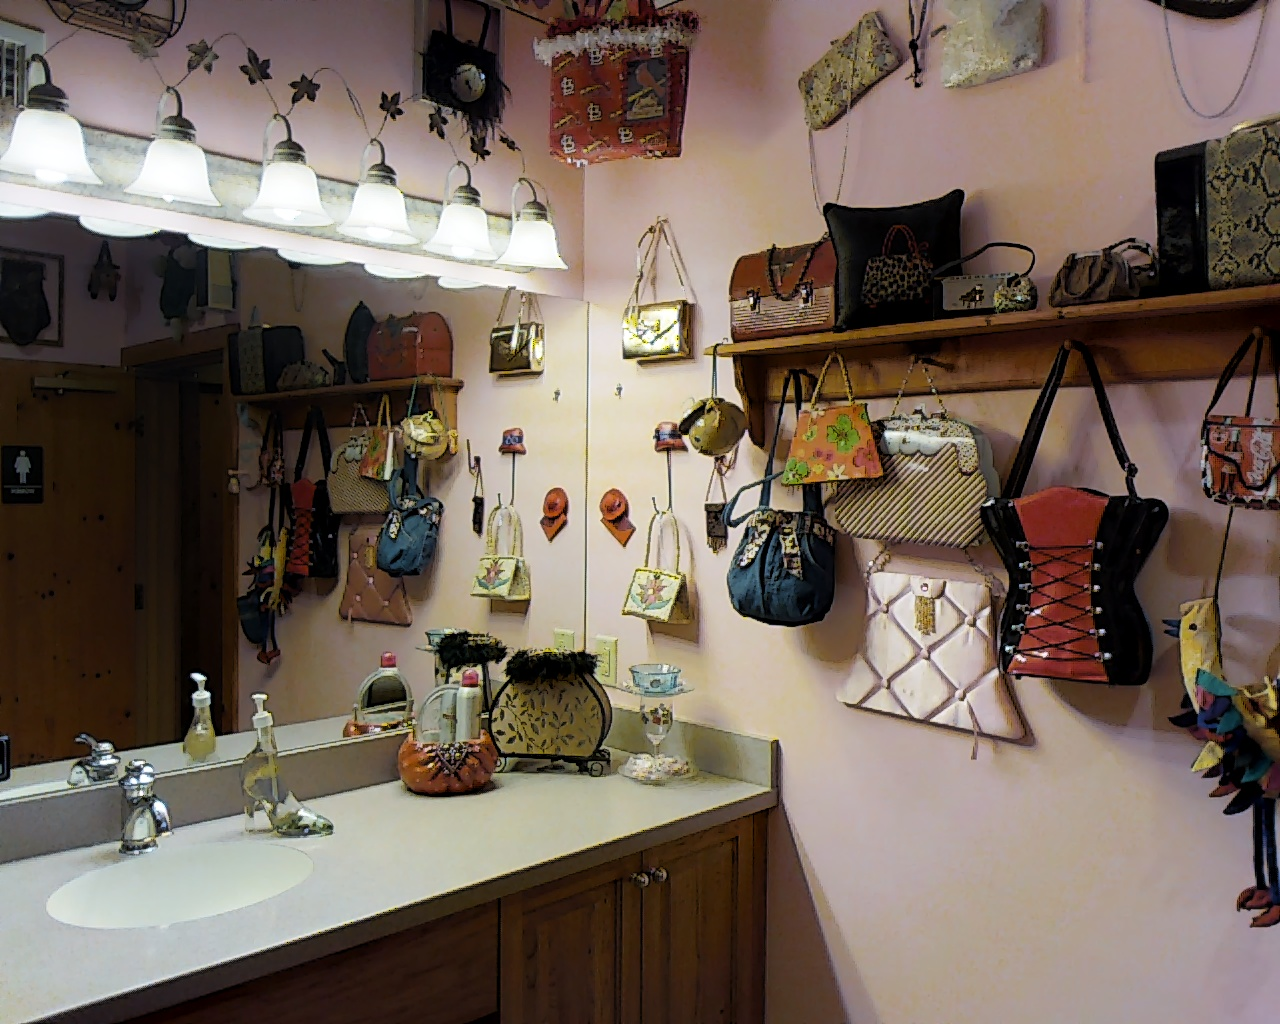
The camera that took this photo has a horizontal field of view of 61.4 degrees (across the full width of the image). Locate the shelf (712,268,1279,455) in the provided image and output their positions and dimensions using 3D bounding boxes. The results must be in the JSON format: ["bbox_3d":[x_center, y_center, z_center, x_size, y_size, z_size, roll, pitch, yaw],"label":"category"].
[{"bbox_3d":[0.610,-0.230,1.870,1.150,0.230,0.150,1,2,45],"label":"shelf"}]

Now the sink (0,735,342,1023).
[{"bbox_3d":[-0.770,0.590,1.740,0.410,0.330,0.400,1,2,43],"label":"sink"}]

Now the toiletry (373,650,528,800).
[{"bbox_3d":[-0.400,0.440,2.280,0.190,0.250,0.260,1,2,44],"label":"toiletry"}]
